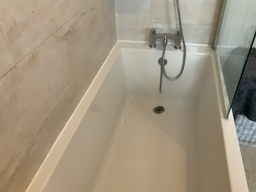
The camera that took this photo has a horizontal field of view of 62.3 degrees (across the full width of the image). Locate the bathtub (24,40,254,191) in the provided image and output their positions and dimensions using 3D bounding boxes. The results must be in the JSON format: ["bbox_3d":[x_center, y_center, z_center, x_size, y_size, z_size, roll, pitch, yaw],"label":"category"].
[{"bbox_3d":[0.110,0.350,1.130,0.750,0.590,1.680,6,40,11],"label":"bathtub"}]
